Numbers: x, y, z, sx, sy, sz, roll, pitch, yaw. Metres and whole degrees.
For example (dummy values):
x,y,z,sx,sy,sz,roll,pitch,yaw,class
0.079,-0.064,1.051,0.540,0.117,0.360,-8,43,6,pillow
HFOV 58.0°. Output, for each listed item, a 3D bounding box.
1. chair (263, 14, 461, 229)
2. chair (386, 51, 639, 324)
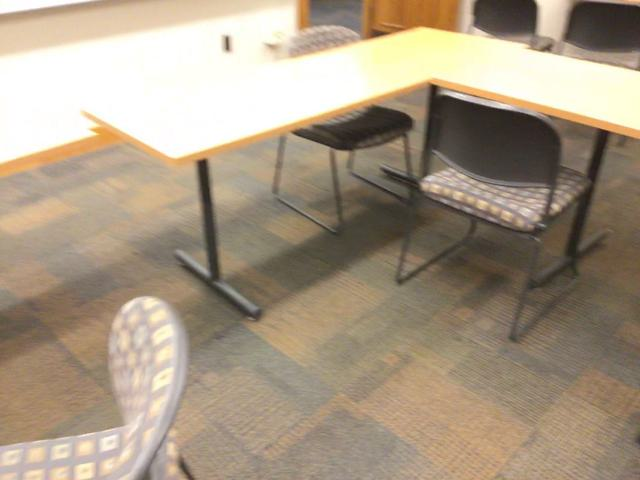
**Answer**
x,y,z,sx,sy,sz,roll,pitch,yaw,class
0.150,-0.550,2.530,0.470,0.690,0.660,-25,40,-38,chair
0.680,-0.230,2.060,0.660,0.680,0.520,-25,40,-38,chair
